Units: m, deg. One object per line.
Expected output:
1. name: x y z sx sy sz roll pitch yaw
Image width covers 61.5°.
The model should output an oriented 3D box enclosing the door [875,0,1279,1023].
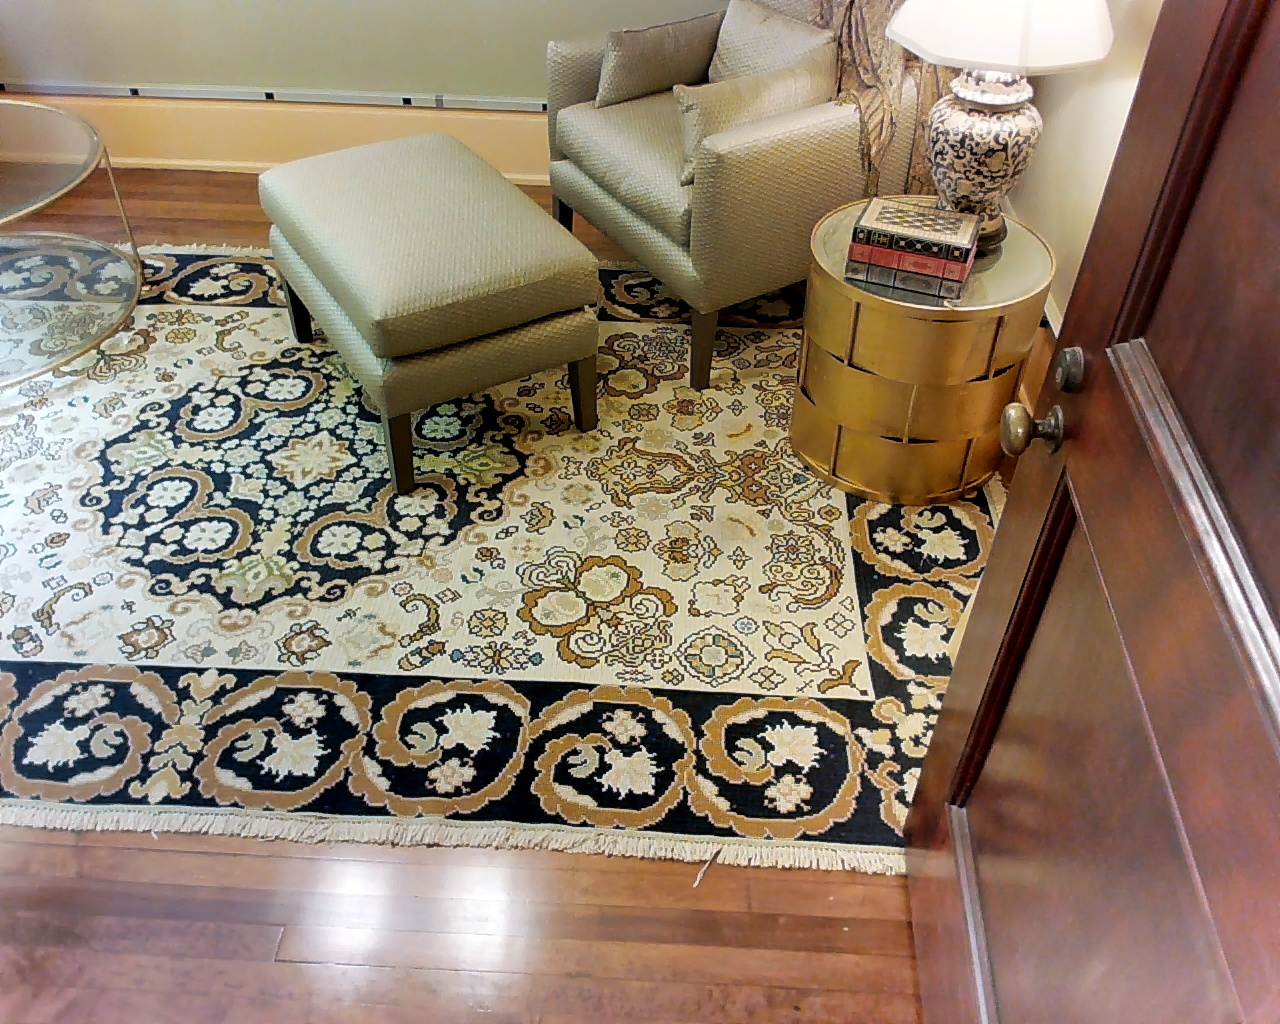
1. door: 0.420 0.000 0.740 0.070 2.200 0.980 3 41 2

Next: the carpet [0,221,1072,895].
1. carpet: -0.820 -0.160 2.530 3.140 0.010 2.060 3 41 2
